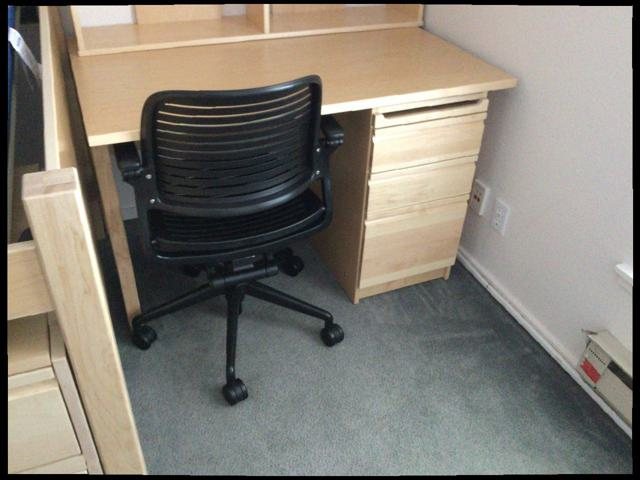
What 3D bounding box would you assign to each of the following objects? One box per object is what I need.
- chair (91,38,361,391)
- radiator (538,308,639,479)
[{"bbox_3d":[-0.279,-0.080,1.720,0.589,0.861,0.450,-11,38,-19],"label":"chair"},{"bbox_3d":[0.938,0.611,1.370,0.120,0.280,1.030,-10,38,-19],"label":"radiator"}]
